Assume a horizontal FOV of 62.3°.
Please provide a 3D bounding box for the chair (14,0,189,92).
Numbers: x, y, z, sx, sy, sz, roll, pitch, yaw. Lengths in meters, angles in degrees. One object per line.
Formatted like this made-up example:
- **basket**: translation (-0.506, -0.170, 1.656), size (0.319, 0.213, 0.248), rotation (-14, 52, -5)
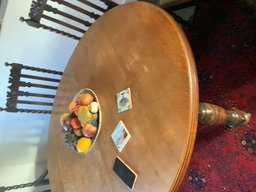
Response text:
- **chair**: translation (-0.150, -0.410, 1.510), size (0.430, 1.060, 0.490), rotation (-58, 46, 26)

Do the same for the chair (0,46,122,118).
- **chair**: translation (-0.610, -0.060, 2.050), size (0.550, 0.950, 0.490), rotation (-4, 81, 50)

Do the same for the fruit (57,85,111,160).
- **fruit**: translation (-0.260, 0.160, 1.150), size (0.400, 0.090, 0.310), rotation (-26, 64, 45)

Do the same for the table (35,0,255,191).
- **table**: translation (0.060, 0.200, 1.410), size (1.360, 0.750, 1.100), rotation (-59, 46, 25)
